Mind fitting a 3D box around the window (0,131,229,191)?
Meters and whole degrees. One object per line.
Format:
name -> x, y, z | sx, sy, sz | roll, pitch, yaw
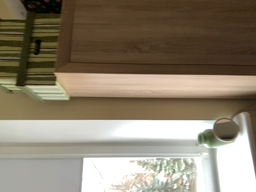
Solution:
window -> -0.230, 1.000, 1.410 | 0.220, 1.850, 1.490 | 97, 174, -70
